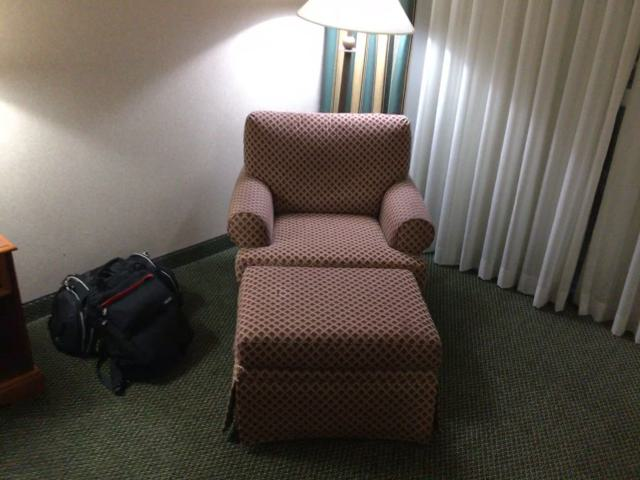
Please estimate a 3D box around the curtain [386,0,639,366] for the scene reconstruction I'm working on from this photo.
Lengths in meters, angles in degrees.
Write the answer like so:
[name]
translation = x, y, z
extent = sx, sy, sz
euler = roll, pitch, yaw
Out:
[curtain]
translation = 1.300, -0.490, 2.160
extent = 2.380, 2.060, 0.180
euler = 22, 31, 40
